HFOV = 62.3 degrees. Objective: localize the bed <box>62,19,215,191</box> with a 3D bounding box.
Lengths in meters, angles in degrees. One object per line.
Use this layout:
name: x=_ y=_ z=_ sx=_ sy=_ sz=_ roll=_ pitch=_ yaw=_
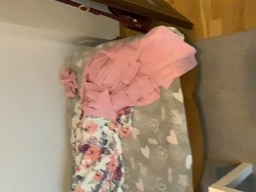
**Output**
bed: x=0.010 y=0.580 z=1.710 sx=1.210 sy=0.430 sz=1.980 roll=0 pitch=94 yaw=46
